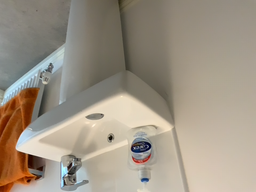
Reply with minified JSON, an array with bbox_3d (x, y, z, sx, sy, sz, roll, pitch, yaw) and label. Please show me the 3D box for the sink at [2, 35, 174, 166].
[{"bbox_3d":[-0.140,0.060,0.690,0.490,0.170,0.240,-26,140,27],"label":"sink"}]
